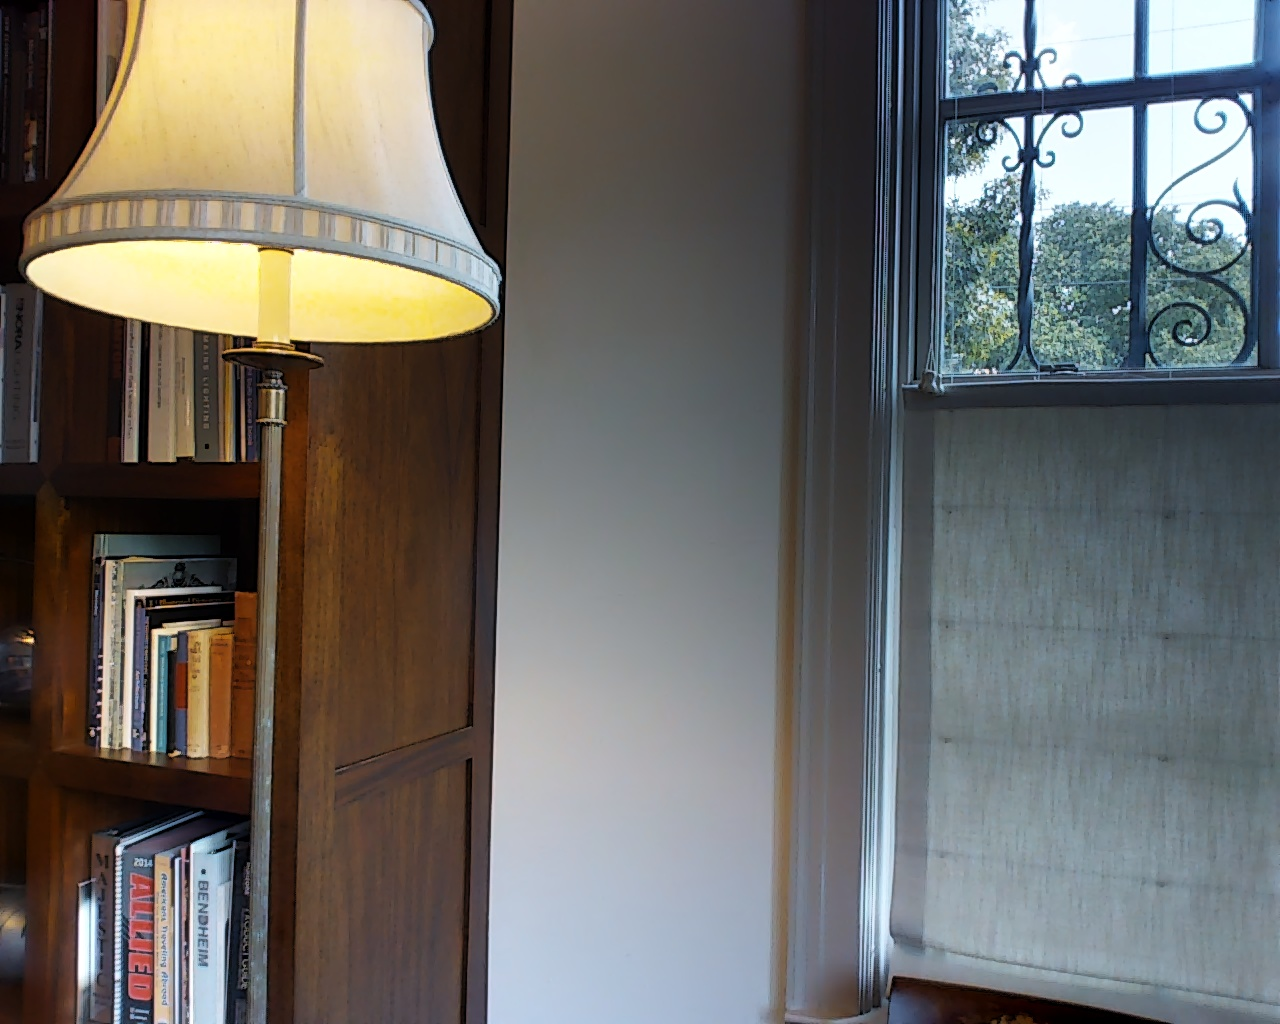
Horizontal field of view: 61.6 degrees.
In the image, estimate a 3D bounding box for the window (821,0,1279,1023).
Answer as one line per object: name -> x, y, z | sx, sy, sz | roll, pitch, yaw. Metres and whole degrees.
window -> 0.920, -0.240, 1.520 | 1.250, 2.150, 0.220 | 1, 0, 22
